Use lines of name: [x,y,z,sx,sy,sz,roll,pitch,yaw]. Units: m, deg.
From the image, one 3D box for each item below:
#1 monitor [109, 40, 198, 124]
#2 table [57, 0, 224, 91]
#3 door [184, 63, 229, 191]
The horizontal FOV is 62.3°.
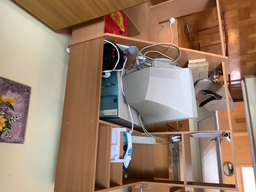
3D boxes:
monitor: [0.180,-0.050,1.460,0.420,0.400,0.430,-12,159,37]
table: [0.180,-0.580,1.660,0.920,0.730,0.950,-7,161,26]
door: [1.220,0.540,3.490,0.150,1.940,0.900,3,163,-7]
